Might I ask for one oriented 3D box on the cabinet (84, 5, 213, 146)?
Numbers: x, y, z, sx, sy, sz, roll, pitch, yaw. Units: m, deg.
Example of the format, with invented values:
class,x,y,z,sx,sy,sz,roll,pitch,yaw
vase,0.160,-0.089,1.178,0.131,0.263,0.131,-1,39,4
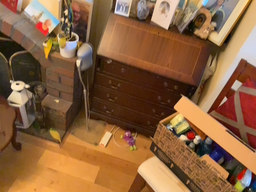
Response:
class,x,y,z,sx,sy,sz,roll,pitch,yaw
cabinet,0.120,-0.140,1.810,0.790,0.890,0.490,18,42,2
